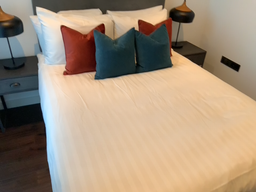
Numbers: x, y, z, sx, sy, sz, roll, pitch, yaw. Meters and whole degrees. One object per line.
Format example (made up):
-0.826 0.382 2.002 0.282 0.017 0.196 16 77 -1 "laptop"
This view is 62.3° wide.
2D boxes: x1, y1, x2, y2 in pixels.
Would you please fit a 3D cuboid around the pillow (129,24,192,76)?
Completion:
0.270 -0.380 1.800 0.400 0.340 0.200 1 29 -29 "pillow"

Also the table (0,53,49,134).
-1.110 -0.040 2.150 0.460 0.620 0.440 -11 36 -21 "table"

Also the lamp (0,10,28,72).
-1.080 -0.490 1.880 0.250 0.450 0.290 -11 36 -21 "lamp"

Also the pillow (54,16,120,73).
-0.340 -0.410 1.750 0.440 0.340 0.160 5 26 -33 "pillow"

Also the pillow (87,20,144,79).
-0.100 -0.360 1.700 0.320 0.370 0.120 13 21 -33 "pillow"
